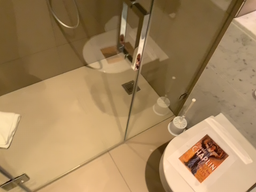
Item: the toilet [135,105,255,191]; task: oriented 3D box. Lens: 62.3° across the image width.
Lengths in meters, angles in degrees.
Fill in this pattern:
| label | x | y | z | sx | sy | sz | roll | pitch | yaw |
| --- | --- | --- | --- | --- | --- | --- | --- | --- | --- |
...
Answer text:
| label | x | y | z | sx | sy | sz | roll | pitch | yaw |
| --- | --- | --- | --- | --- | --- | --- | --- | --- | --- |
| toilet | 0.390 | 0.410 | 1.180 | 0.530 | 0.400 | 0.400 | -24 | 61 | -22 |
